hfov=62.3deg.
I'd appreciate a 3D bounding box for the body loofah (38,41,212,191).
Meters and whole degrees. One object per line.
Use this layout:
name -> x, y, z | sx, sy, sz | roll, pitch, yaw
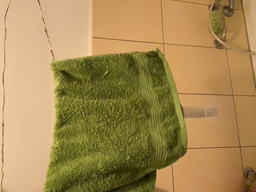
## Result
body loofah -> -0.020, 0.090, 0.580 | 0.240, 0.370, 0.370 | 143, 128, -73
